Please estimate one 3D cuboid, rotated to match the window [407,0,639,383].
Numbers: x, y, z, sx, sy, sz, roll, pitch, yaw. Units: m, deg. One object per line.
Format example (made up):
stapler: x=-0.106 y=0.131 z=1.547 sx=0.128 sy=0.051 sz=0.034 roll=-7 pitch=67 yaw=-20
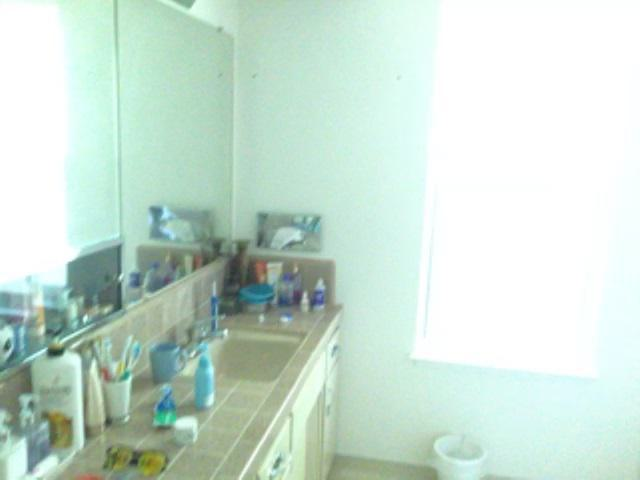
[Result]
window: x=0.770 y=-0.240 z=2.250 sx=0.810 sy=1.500 sz=0.220 roll=2 pitch=9 yaw=16
